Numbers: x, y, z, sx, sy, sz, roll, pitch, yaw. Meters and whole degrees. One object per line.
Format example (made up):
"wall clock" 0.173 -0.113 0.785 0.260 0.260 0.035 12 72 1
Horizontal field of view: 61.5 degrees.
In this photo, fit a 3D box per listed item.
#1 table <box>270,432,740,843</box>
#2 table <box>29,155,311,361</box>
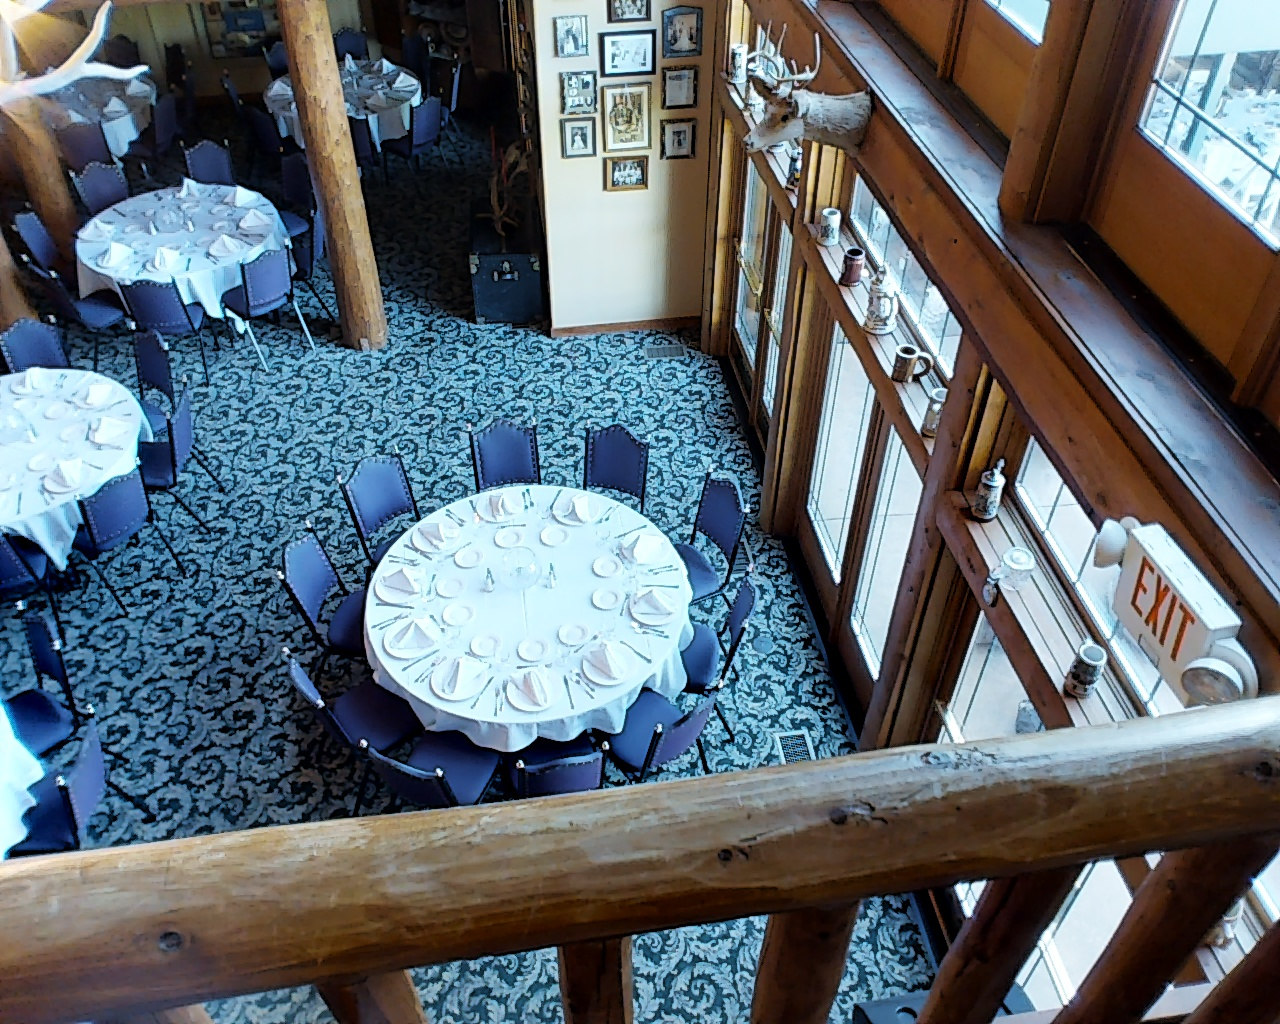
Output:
"table" -0.600 0.580 5.910 1.950 0.770 1.880 10 43 9
"table" -3.700 -2.120 8.780 1.730 0.760 1.790 -6 43 -7
